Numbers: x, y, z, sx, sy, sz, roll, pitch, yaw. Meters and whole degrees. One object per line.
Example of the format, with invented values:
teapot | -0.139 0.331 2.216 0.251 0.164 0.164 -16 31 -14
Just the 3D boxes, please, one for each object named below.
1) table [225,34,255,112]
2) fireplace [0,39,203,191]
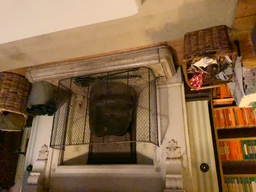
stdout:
table | 1.110 -0.190 1.790 0.430 0.490 0.460 -7 157 19
fireplace | -0.250 0.350 2.120 1.770 1.270 0.770 -7 157 17
